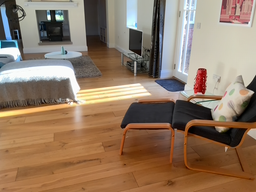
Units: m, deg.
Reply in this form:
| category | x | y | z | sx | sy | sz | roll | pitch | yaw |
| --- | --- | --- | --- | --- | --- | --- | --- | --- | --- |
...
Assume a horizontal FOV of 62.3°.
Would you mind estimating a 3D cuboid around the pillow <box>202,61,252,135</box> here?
| category | x | y | z | sx | sy | sz | roll | pitch | yaw |
| --- | --- | --- | --- | --- | --- | --- | --- | --- | --- |
| pillow | 0.920 | 0.030 | 1.990 | 0.160 | 0.450 | 0.530 | 23 | 60 | 0 |
